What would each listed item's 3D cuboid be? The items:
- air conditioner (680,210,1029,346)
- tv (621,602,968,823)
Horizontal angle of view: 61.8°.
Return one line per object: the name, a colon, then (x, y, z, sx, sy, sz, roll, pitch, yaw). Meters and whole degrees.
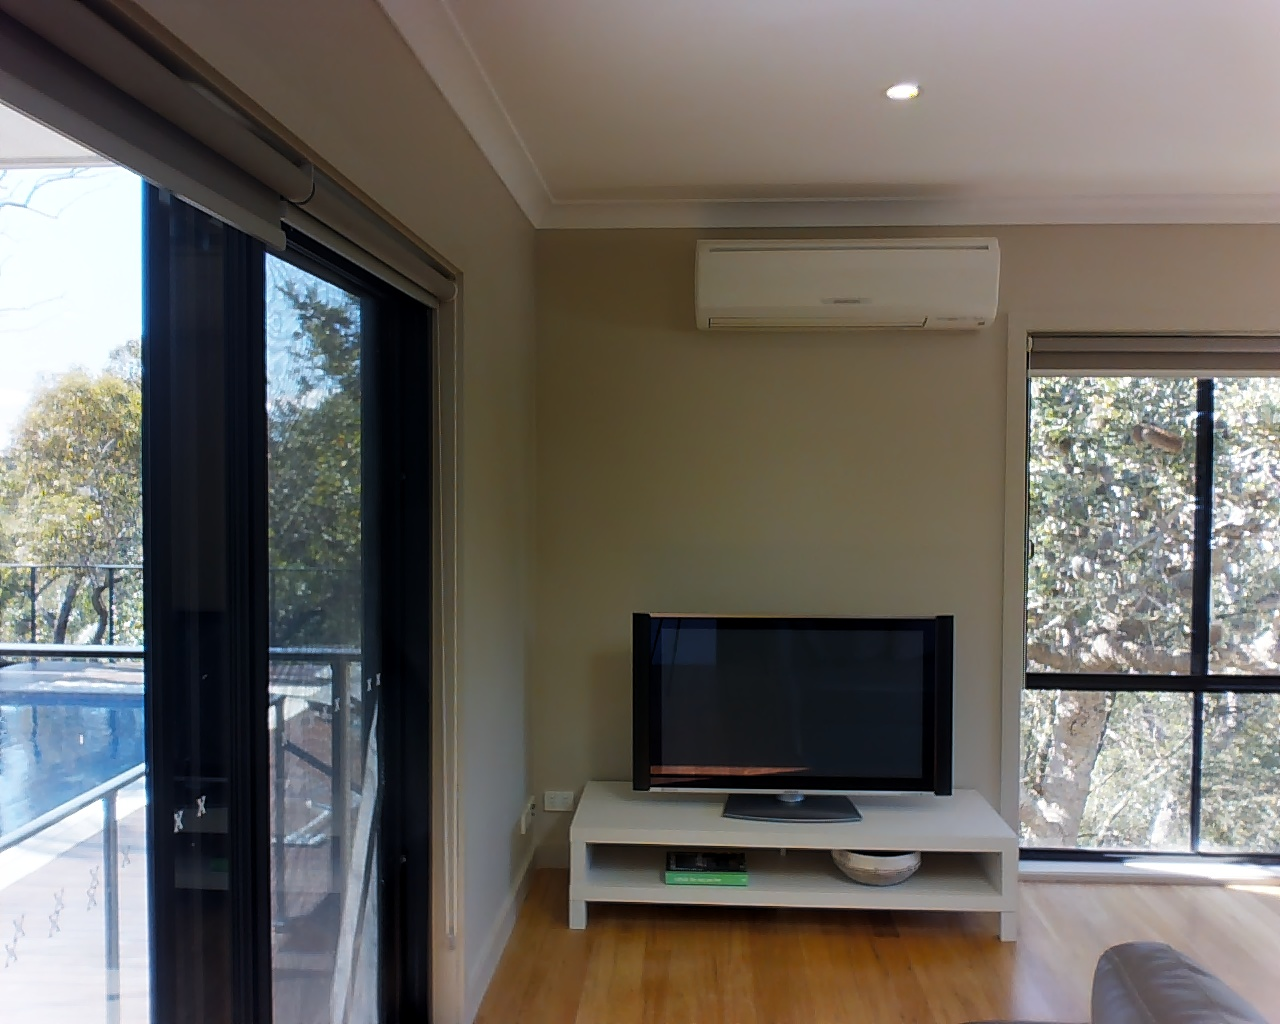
air conditioner: (0.760, -0.850, 3.940, 1.220, 0.430, 0.320, 0, 2, 3)
tv: (0.530, 0.700, 3.830, 1.180, 0.710, 0.320, 0, 2, 2)
